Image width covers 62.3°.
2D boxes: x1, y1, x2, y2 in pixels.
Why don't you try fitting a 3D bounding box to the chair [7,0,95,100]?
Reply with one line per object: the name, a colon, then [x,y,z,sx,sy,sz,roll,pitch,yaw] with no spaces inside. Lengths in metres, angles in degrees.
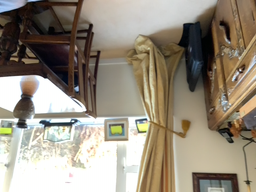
chair: [-0.610,-0.410,1.860,0.480,0.780,0.470,-1,160,5]
